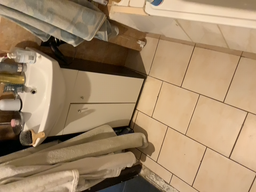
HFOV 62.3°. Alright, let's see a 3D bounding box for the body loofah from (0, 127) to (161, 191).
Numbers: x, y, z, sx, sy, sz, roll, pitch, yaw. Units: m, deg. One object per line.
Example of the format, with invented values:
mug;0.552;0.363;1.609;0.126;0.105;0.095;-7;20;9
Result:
body loofah;-0.350;0.430;1.240;0.230;1.440;0.280;40;114;35
